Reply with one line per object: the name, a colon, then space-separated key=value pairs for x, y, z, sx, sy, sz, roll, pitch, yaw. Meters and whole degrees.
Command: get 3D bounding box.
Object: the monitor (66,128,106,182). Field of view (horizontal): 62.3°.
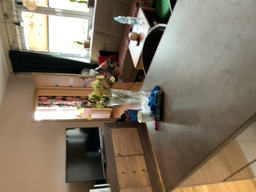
monitor: x=-0.720 y=0.940 z=3.560 sx=0.030 sy=0.600 sz=0.930 roll=110 pitch=154 yaw=-45
